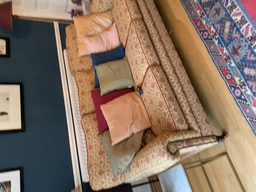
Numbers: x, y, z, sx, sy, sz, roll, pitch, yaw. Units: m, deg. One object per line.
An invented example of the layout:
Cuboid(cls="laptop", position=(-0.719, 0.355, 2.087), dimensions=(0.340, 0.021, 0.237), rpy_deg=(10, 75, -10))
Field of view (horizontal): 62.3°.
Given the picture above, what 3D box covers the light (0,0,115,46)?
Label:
Cuboid(cls="light", position=(-1.100, -1.160, 3.280), dimensions=(0.470, 1.680, 0.400), rpy_deg=(-52, 46, 51))
